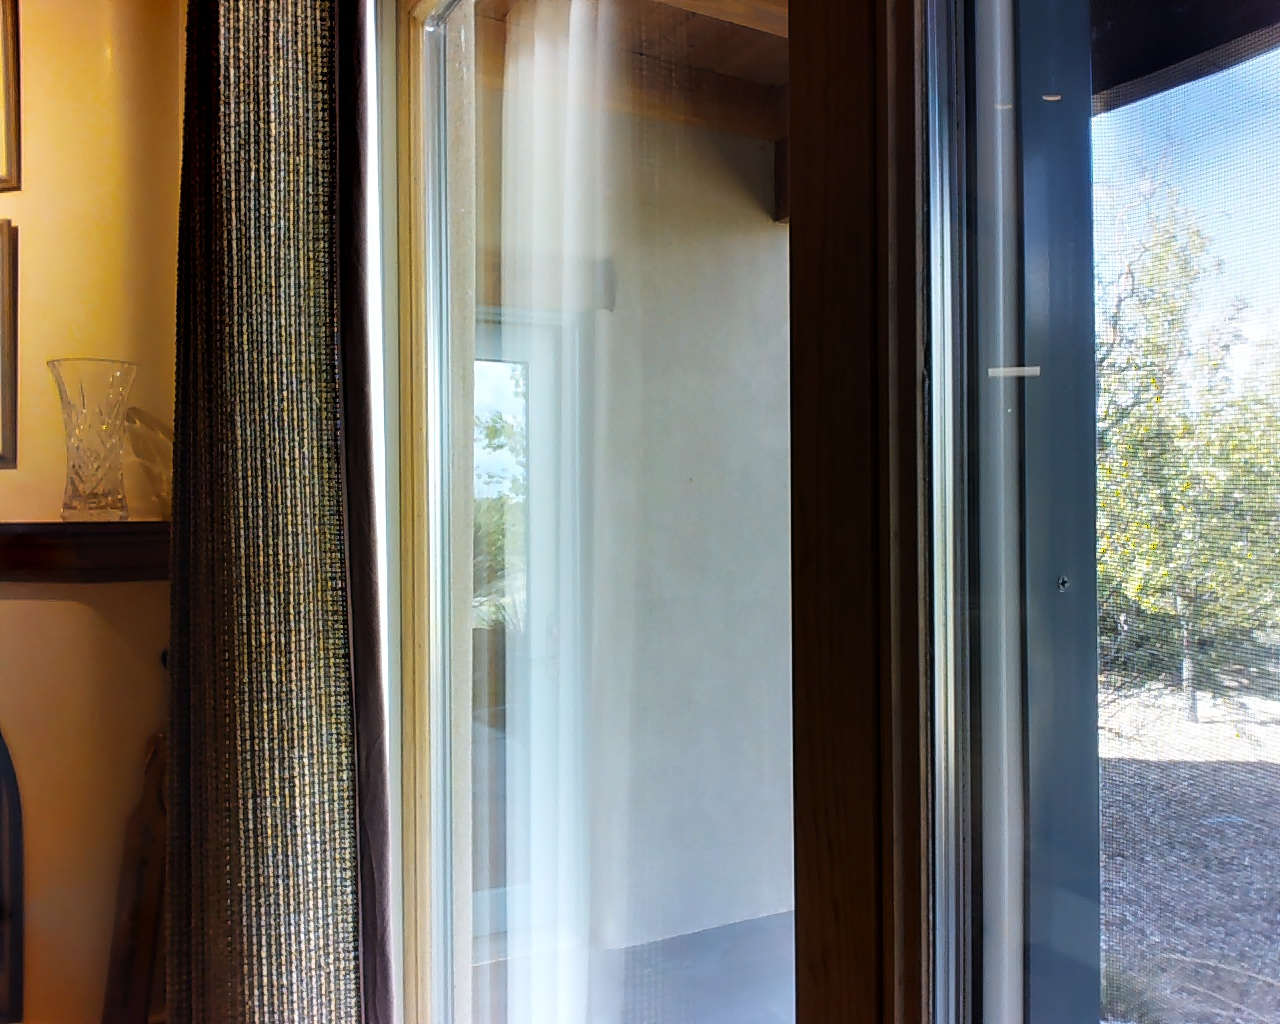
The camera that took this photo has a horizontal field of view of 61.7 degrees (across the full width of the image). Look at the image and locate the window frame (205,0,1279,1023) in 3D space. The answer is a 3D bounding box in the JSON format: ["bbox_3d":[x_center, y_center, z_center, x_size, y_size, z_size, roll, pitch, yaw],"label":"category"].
[{"bbox_3d":[0.120,0.320,0.460,0.320,2.201,1.900,-1,0,-29],"label":"window frame"}]
